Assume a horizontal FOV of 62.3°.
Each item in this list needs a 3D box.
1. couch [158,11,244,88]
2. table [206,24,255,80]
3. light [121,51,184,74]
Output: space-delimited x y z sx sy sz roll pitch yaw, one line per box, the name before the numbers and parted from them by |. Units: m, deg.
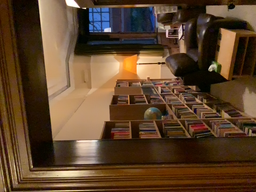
couch | 1.130 -0.880 3.730 1.170 0.960 1.110 -94 4 -66
table | 1.430 -0.630 2.970 0.530 0.390 0.670 -94 4 -65
light | 0.690 -1.020 6.350 0.540 1.770 0.650 -107 17 -76
